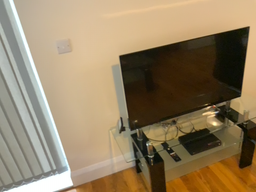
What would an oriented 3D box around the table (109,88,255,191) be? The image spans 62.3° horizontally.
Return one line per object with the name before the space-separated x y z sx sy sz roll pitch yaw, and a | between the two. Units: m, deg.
table | 0.470 0.390 1.760 1.110 0.510 0.460 -15 29 -14
